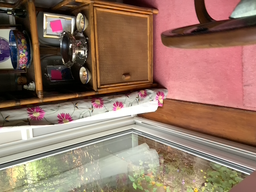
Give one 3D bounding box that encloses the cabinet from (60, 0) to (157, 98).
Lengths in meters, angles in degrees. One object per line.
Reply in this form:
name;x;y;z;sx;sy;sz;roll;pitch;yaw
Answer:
cabinet;-0.150;-0.360;1.750;0.490;0.610;0.630;10;104;51
